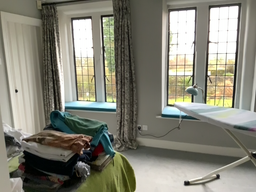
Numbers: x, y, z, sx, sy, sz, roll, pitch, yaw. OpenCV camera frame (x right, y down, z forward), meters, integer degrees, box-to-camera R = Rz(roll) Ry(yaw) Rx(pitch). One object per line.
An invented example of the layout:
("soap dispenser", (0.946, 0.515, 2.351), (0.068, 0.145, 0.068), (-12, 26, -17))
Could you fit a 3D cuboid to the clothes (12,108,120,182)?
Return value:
("clothes", (-0.420, 0.320, 1.560), (0.610, 0.340, 0.410), (2, 11, 17))
